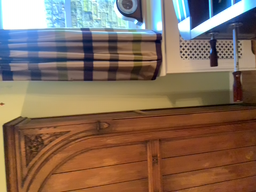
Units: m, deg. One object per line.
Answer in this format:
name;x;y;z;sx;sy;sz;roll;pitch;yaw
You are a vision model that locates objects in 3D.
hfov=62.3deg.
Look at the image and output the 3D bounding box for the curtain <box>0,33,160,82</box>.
curtain;-0.390;-0.250;1.410;0.130;1.240;0.280;180;87;-74
